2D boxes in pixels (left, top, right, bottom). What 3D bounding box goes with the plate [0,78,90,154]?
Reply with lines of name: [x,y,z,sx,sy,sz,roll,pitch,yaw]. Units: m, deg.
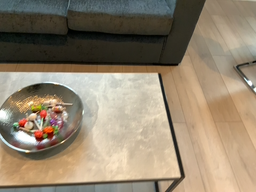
plate: [-0.320,0.060,0.810,0.330,0.040,0.310,0,52,-6]
